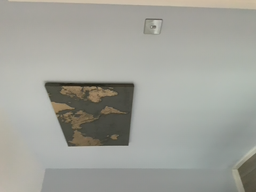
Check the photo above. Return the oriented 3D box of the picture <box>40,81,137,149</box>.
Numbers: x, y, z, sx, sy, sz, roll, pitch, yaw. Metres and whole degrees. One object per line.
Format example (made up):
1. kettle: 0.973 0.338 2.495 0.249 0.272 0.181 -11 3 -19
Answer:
1. picture: -0.290 0.220 1.810 0.960 0.650 0.040 95 175 -51
